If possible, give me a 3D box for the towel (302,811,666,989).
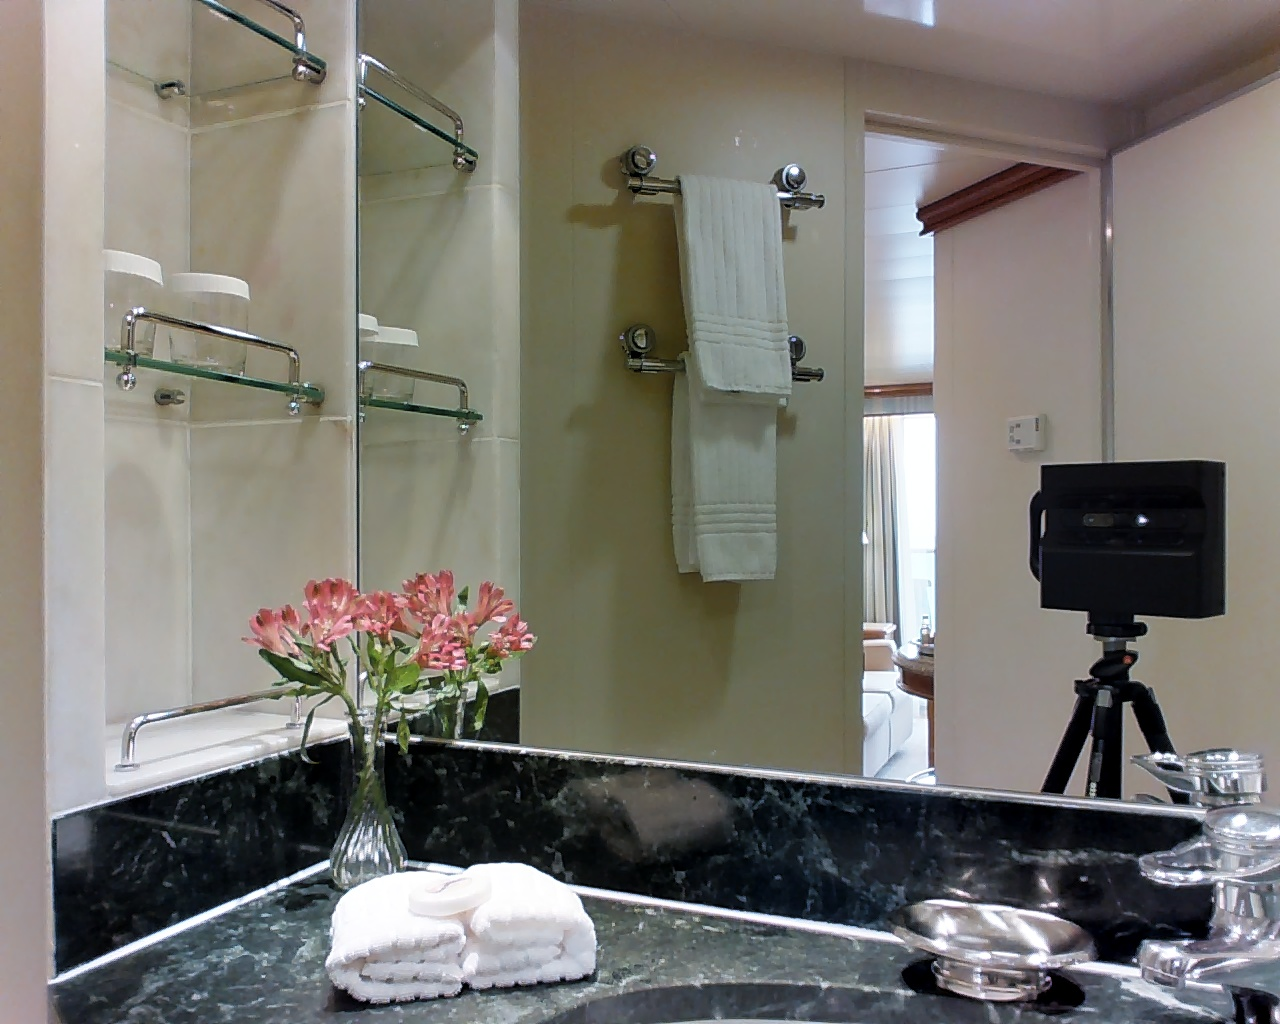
[{"bbox_3d":[-0.120,0.280,0.800,0.250,0.060,0.130,0,0,-18],"label":"towel"}]

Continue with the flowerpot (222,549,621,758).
[{"bbox_3d":[-0.200,0.120,1.020,0.330,0.160,0.230,0,0,-11],"label":"flowerpot"}]
